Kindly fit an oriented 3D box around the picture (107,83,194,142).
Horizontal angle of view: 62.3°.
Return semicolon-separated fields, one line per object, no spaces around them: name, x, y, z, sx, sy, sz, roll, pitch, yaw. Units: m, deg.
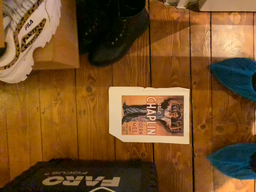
picture;0.080;0.060;0.780;0.310;0.030;0.210;-1;93;4
